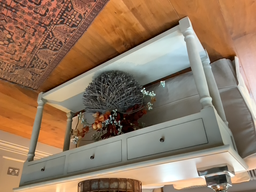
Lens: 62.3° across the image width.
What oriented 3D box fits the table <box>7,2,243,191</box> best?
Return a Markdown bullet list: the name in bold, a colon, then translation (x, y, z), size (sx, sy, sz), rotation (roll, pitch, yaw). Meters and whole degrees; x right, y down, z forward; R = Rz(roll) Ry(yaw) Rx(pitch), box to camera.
- **table**: translation (-0.140, 0.140, 1.490), size (1.430, 0.860, 0.420), rotation (-22, 144, 28)
